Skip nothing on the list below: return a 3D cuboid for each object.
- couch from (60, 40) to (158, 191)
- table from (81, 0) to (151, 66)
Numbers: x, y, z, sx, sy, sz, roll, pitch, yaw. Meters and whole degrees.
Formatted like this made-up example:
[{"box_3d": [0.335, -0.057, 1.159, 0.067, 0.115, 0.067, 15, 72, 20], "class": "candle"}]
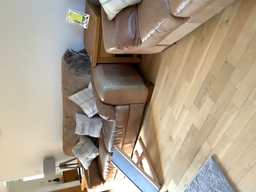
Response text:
[{"box_3d": [-0.460, 0.420, 3.070, 1.070, 0.860, 2.100, -118, 32, -44], "class": "couch"}, {"box_3d": [-0.180, -0.750, 2.480, 0.580, 0.590, 0.550, -118, 32, -44], "class": "table"}]
